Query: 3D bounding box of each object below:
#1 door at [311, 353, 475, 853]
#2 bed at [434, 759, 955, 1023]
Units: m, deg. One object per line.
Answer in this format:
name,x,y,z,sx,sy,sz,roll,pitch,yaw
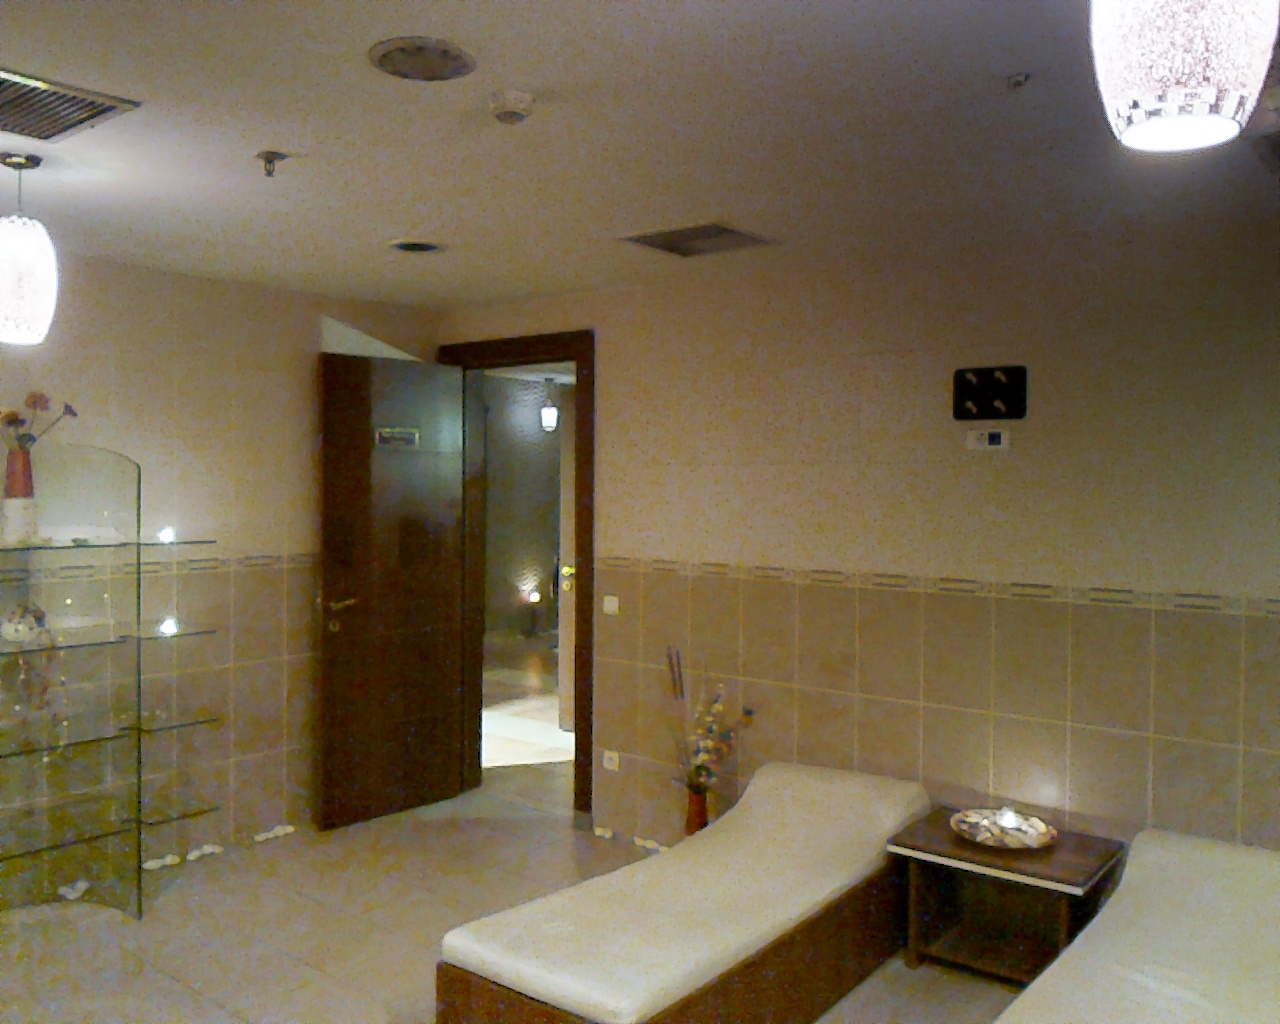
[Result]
door,-1.150,0.400,5.090,0.180,2.200,0.790,1,1,41
bed,0.290,1.260,3.330,0.670,0.540,1.830,1,1,38
